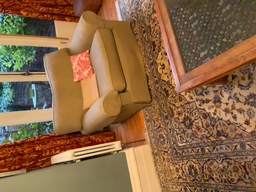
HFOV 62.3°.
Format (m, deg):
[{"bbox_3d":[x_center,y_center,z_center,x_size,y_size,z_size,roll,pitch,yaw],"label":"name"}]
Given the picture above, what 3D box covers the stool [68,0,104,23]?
[{"bbox_3d":[-0.690,-1.580,3.360,0.550,0.350,0.550,-32,66,56],"label":"stool"}]
